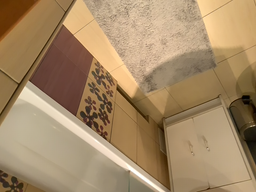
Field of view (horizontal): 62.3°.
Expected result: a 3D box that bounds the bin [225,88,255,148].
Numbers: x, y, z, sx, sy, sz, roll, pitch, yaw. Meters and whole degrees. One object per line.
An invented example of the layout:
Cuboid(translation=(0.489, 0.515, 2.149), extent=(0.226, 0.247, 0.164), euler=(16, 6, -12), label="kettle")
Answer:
Cuboid(translation=(0.870, 0.150, 1.550), extent=(0.140, 0.390, 0.160), euler=(-27, 127, 24), label="bin")

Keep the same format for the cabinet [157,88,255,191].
Cuboid(translation=(0.530, 0.420, 1.440), extent=(0.490, 0.780, 0.350), euler=(-28, 126, 25), label="cabinet")

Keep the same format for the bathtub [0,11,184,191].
Cuboid(translation=(-0.270, 0.350, 1.530), extent=(0.670, 0.560, 1.600), euler=(-27, 127, 24), label="bathtub")
